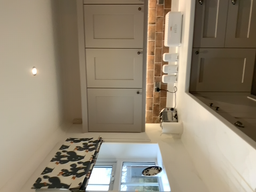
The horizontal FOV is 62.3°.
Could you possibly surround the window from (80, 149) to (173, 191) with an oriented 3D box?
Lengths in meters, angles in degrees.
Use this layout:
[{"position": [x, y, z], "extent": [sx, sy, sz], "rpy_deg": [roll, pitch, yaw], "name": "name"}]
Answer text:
[{"position": [-0.010, 0.830, 2.220], "extent": [0.990, 0.830, 0.090], "rpy_deg": [-87, -3, -77], "name": "window"}]
